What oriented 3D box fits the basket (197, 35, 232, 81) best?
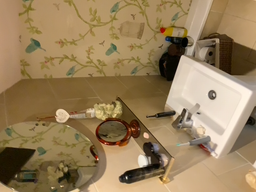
[{"bbox_3d":[0.780,-0.330,1.920,0.210,0.190,0.380,2,96,60],"label":"basket"}]
